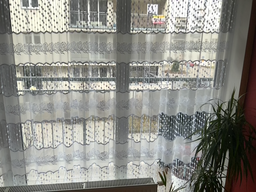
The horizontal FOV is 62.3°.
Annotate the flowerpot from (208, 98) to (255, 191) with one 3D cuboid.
[{"bbox_3d":[0.870,0.620,1.620,0.370,1.090,0.500,6,15,15],"label":"flowerpot"}]
